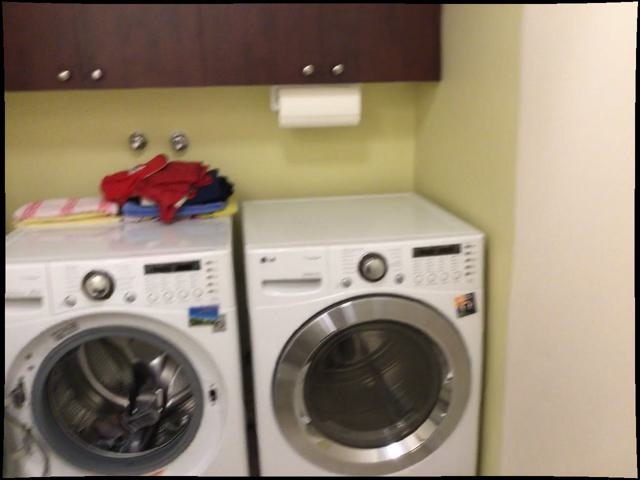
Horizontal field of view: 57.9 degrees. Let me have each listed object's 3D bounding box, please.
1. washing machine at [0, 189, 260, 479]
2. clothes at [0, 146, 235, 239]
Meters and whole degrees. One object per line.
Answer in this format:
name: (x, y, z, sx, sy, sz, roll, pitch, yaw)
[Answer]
washing machine: (-0.619, 0.501, 1.620, 0.849, 0.991, 1.280, -4, 17, -6)
clothes: (-0.639, -0.170, 1.920, 0.689, 0.210, 0.300, -4, 17, -6)
